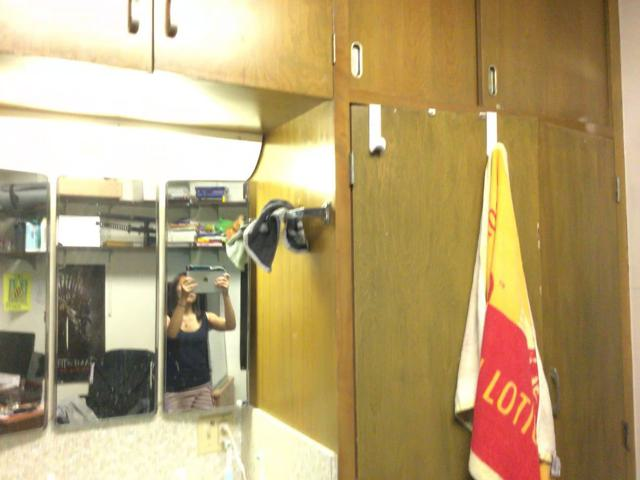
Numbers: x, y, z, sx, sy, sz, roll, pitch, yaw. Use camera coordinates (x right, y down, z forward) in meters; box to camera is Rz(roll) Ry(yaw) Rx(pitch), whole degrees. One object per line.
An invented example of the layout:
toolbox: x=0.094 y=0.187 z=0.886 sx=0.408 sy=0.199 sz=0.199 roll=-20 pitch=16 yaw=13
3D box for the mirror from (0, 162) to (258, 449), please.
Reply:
mirror: x=-0.630 y=0.170 z=1.690 sx=0.870 sy=0.730 sz=0.190 roll=0 pitch=-4 yaw=-29
